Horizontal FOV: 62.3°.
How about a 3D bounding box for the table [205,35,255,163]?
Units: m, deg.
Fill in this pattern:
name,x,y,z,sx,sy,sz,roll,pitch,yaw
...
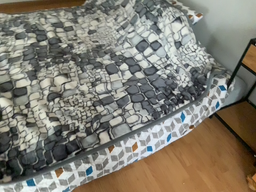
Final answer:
name,x,y,z,sx,sy,sz,roll,pitch,yaw
table,0.860,0.000,1.280,0.380,0.610,0.430,-16,49,-23
